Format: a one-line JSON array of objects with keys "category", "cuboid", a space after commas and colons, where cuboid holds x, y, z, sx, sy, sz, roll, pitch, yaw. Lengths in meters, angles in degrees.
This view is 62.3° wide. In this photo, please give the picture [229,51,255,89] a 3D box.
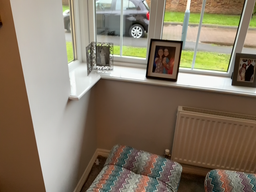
[{"category": "picture", "cuboid": [0.820, -0.180, 1.450, 0.170, 0.220, 0.110, 8, 27, 9]}]

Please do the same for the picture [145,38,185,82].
[{"category": "picture", "cuboid": [0.270, -0.260, 1.550, 0.240, 0.280, 0.180, 8, 10, 11]}]
